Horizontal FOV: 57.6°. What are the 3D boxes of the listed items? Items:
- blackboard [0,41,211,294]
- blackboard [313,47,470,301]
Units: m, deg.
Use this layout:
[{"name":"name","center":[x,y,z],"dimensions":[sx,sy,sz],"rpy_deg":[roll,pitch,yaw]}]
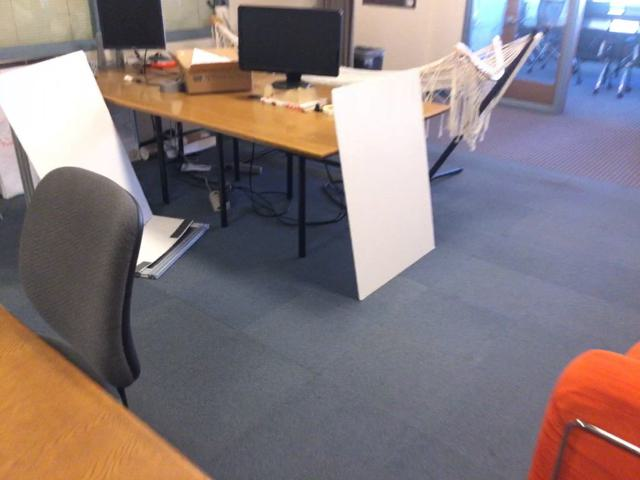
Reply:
[{"name":"blackboard","center":[-1.110,-0.410,2.960],"dimensions":[0.640,1.020,0.840],"rpy_deg":[5,27,17]},{"name":"blackboard","center":[0.340,-0.330,2.840],"dimensions":[0.200,1.030,0.820],"rpy_deg":[28,40,33]}]
